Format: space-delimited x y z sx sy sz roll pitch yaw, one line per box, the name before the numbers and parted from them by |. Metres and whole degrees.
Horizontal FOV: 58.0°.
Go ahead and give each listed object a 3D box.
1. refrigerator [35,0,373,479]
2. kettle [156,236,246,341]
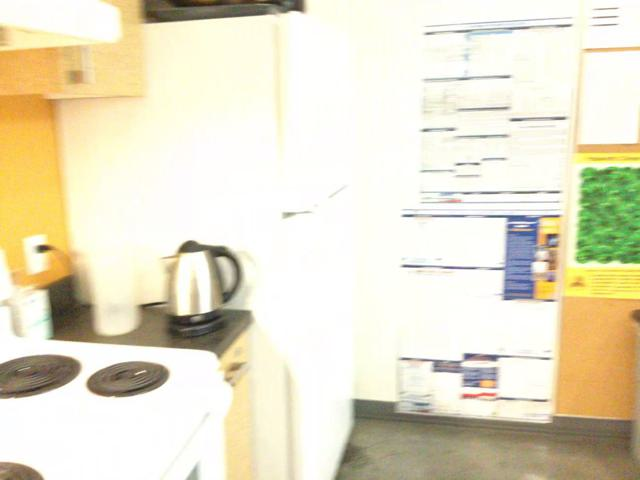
refrigerator | -0.300 0.090 2.150 0.830 1.800 0.910 2 9 16
kettle | -0.330 0.130 1.630 0.190 0.260 0.150 2 9 16
